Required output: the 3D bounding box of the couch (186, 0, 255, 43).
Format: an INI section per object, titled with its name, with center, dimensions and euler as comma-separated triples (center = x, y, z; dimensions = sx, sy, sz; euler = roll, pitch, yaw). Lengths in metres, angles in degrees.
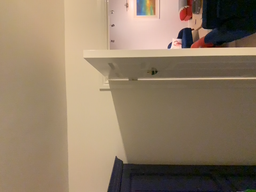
[couch]
center = 1.410, -1.420, 3.020
dimensions = 0.950, 0.880, 1.190
euler = -78, -12, -81
